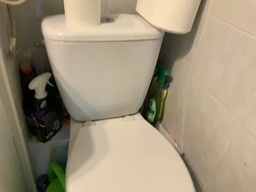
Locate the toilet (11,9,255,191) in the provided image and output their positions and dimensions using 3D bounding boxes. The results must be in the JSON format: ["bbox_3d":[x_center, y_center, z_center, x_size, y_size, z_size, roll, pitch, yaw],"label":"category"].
[{"bbox_3d":[-0.050,0.190,0.720,0.390,0.740,0.670,-4,37,-16],"label":"toilet"}]
